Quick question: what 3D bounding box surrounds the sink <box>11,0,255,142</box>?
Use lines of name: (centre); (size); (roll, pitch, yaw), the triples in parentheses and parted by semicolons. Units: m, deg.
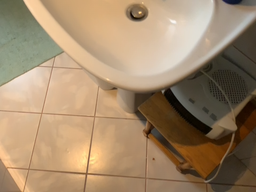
sink: (0.000, -0.250, 0.550); (0.440, 0.180, 0.550); (-39, 73, -14)
